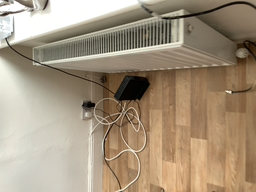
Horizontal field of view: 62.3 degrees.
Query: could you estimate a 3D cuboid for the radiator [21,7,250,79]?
[{"bbox_3d":[0.020,-0.190,1.170,1.030,0.730,0.120,2,92,39],"label":"radiator"}]
